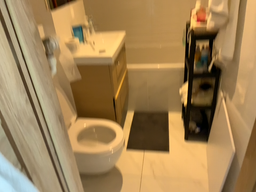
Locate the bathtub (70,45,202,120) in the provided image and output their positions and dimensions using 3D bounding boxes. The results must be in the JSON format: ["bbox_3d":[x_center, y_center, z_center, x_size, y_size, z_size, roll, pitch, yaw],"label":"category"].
[{"bbox_3d":[0.120,-0.200,2.590,1.350,0.620,0.680,2,32,10],"label":"bathtub"}]

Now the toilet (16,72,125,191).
[{"bbox_3d":[-0.330,0.300,1.550,0.510,0.880,0.360,1,32,8],"label":"toilet"}]
